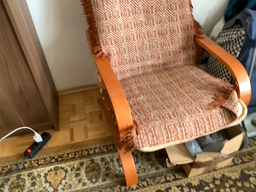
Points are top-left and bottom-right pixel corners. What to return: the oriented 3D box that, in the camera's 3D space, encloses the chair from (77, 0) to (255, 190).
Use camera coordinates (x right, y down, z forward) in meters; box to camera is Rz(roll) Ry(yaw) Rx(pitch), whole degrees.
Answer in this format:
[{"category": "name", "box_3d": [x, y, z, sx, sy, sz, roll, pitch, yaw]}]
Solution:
[{"category": "chair", "box_3d": [0.160, -0.210, 1.090, 0.670, 0.970, 0.810, -12, 45, -12]}]
